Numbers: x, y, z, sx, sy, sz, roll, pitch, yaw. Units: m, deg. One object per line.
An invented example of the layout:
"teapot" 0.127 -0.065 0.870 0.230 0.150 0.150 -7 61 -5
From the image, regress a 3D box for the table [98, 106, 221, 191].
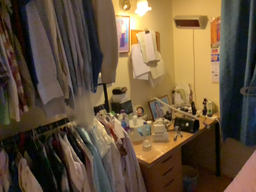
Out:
"table" 0.400 0.650 2.120 1.210 0.740 0.560 -19 19 -42
